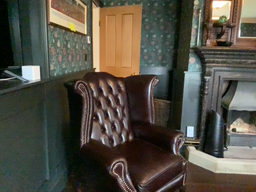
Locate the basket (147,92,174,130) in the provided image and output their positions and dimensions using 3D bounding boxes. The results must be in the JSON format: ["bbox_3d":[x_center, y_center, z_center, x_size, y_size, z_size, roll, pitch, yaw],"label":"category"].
[{"bbox_3d":[0.560,0.250,3.760,0.370,0.560,0.480,1,11,0],"label":"basket"}]
